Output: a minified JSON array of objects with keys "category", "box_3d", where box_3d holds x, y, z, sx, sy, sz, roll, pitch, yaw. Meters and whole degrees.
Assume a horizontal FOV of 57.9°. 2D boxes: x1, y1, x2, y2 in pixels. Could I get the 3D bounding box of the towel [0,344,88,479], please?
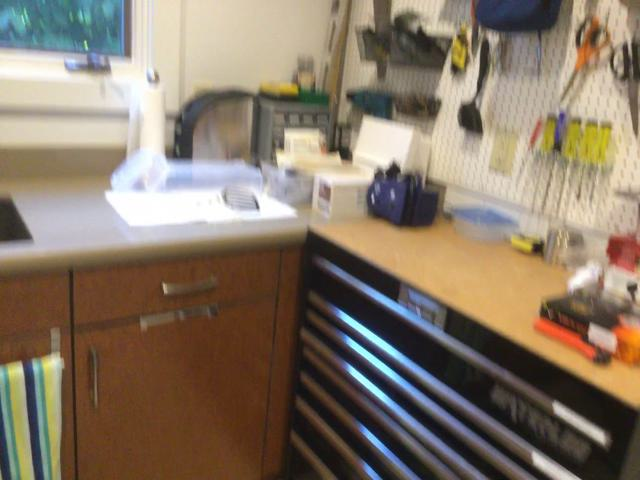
[{"category":"towel","box_3d":[-0.650,0.440,1.240,0.270,0.390,0.070,-6,21,-36]}]
